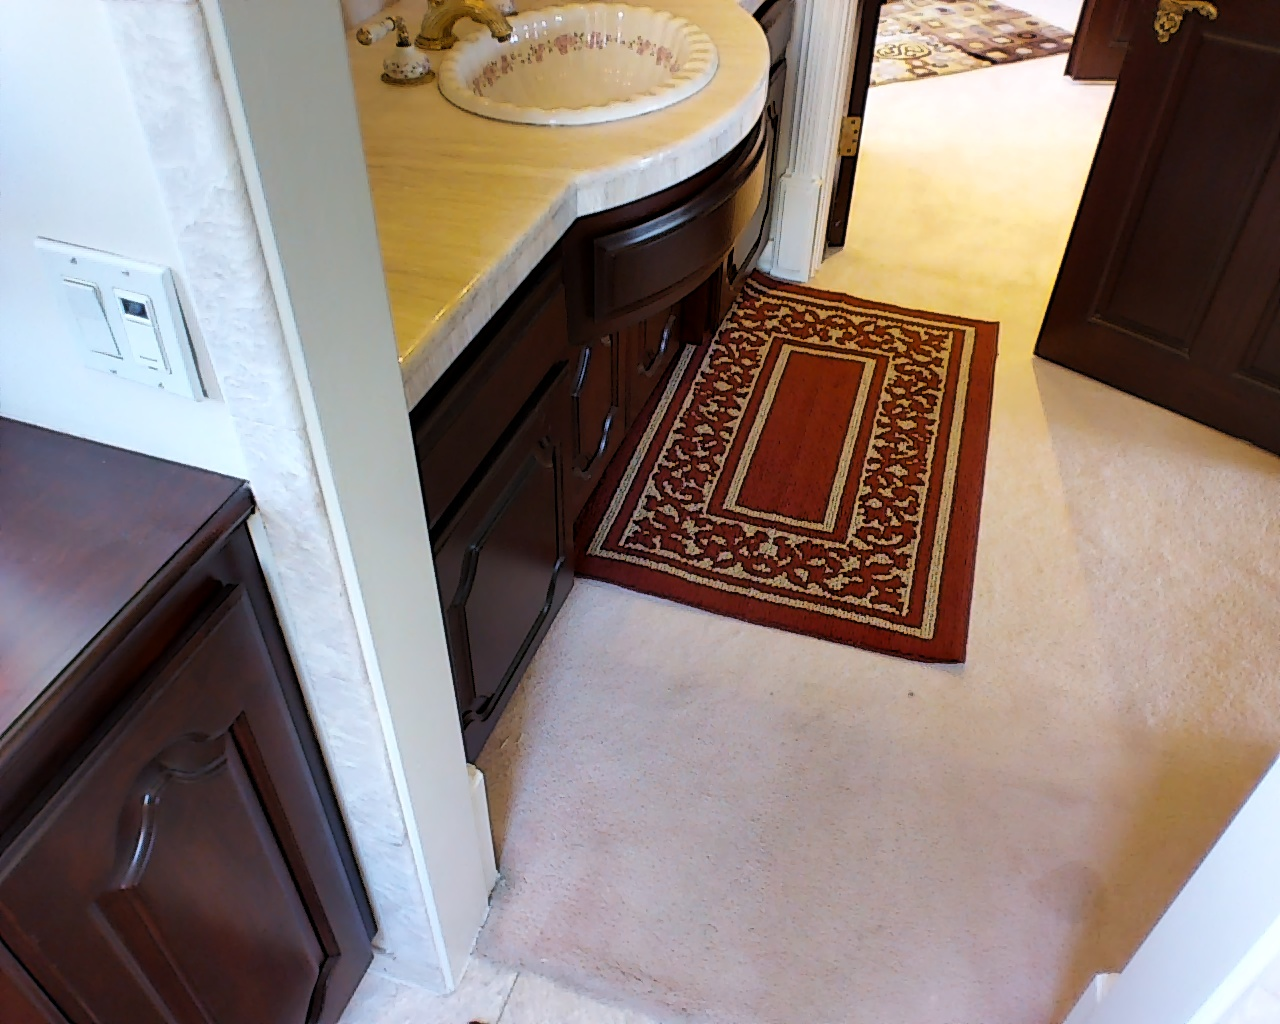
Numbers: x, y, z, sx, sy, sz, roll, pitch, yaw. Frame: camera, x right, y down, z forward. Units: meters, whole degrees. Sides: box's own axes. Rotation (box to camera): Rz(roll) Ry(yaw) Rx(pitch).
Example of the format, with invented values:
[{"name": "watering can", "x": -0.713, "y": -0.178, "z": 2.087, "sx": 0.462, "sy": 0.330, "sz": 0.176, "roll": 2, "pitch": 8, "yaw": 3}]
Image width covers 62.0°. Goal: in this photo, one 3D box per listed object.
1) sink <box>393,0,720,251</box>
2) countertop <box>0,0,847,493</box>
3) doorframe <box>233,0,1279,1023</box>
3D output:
[{"name": "sink", "x": -0.110, "y": -0.650, "z": 1.730, "sx": 0.340, "sy": 0.180, "sz": 0.520, "roll": 14, "pitch": 43, "yaw": 13}, {"name": "countertop", "x": -0.210, "y": -0.780, "z": 1.690, "sx": 0.840, "sy": 0.240, "sz": 1.860, "roll": 14, "pitch": 43, "yaw": 13}, {"name": "doorframe", "x": 0.160, "y": -0.300, "z": 0.600, "sx": 0.850, "sy": 2.540, "sz": 0.120, "roll": 14, "pitch": 43, "yaw": 14}]
